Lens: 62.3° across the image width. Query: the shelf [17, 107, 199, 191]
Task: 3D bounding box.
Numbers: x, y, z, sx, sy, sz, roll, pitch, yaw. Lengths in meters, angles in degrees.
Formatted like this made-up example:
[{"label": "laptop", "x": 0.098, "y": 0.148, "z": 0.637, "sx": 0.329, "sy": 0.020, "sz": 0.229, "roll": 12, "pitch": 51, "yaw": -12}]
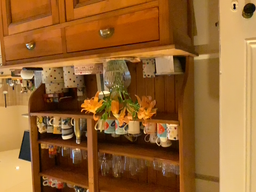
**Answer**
[{"label": "shelf", "x": -0.220, "y": 0.670, "z": 1.710, "sx": 1.460, "sy": 1.080, "sz": 0.360, "roll": 1, "pitch": -175, "yaw": 27}]
